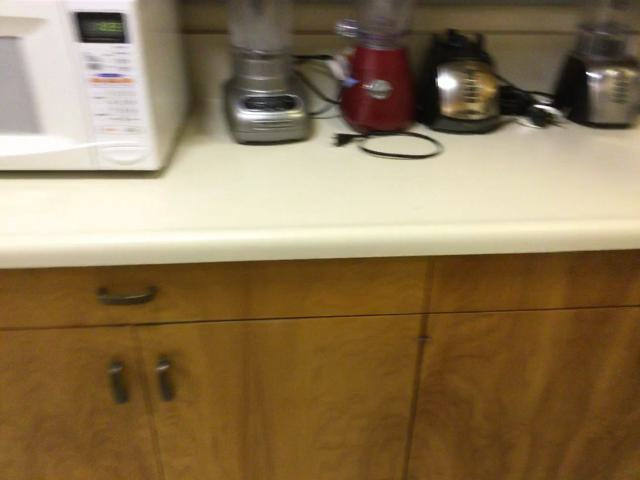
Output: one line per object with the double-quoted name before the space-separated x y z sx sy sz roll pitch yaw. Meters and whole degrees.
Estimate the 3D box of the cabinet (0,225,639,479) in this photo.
"cabinet" 0.550 0.350 1.150 2.740 0.830 0.070 -1 31 -5

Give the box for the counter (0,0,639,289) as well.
"counter" 0.510 -0.260 1.120 2.720 0.310 0.680 -1 31 -5
